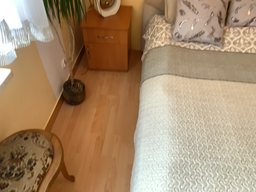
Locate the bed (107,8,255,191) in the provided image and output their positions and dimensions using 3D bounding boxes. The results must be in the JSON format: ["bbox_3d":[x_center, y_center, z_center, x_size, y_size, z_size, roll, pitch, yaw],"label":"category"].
[{"bbox_3d":[0.840,0.130,1.490,1.690,0.470,2.120,6,46,4],"label":"bed"}]

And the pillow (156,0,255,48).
[{"bbox_3d":[0.690,-0.720,1.770,0.850,0.300,0.560,7,46,5],"label":"pillow"}]
